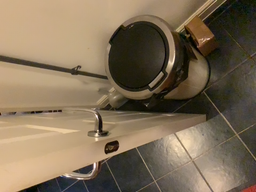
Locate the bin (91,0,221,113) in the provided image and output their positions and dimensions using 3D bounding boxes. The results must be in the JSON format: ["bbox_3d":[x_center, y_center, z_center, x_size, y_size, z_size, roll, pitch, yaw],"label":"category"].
[{"bbox_3d":[0.200,-0.170,1.170,0.350,0.650,0.350,-40,70,25],"label":"bin"}]
